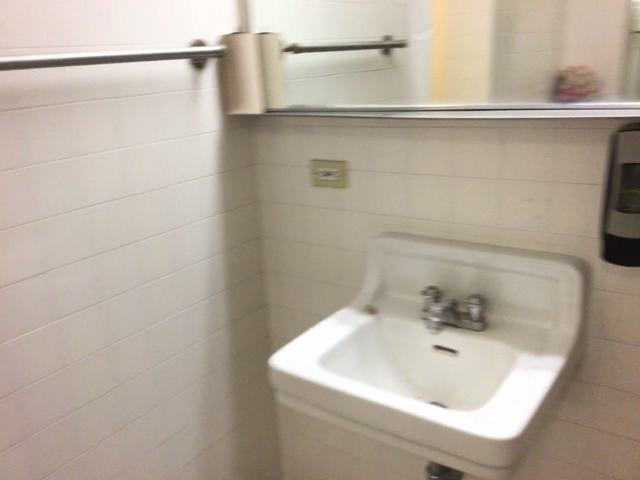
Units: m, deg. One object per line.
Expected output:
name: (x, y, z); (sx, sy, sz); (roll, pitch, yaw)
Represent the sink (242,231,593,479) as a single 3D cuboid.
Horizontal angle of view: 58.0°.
sink: (0.210, 0.230, 1.190); (0.540, 0.350, 0.450); (7, 19, 36)
